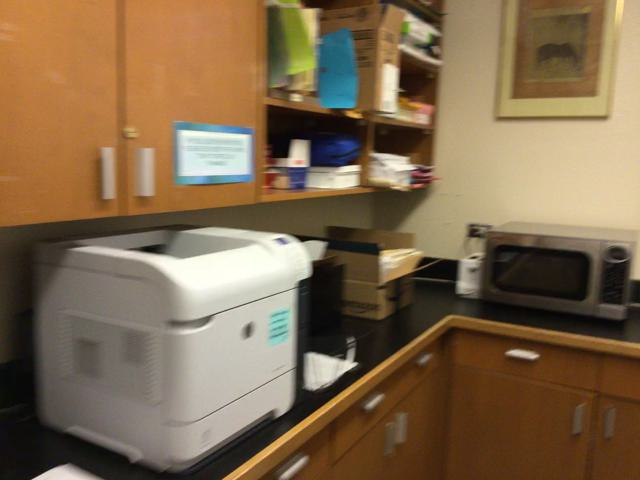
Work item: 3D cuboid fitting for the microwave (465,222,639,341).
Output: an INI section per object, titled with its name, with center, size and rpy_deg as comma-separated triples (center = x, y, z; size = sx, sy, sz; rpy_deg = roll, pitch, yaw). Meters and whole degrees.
[microwave]
center = 0.950, 0.130, 2.250
size = 0.630, 0.340, 0.470
rpy_deg = 4, 7, 30

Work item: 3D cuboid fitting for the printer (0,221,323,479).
[printer]
center = -0.360, 0.190, 1.330
size = 0.570, 0.410, 0.470
rpy_deg = 4, 7, 30

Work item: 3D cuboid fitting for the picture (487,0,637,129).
[picture]
center = 0.970, -0.800, 2.340
size = 0.530, 0.670, 0.090
rpy_deg = 4, 7, 30
